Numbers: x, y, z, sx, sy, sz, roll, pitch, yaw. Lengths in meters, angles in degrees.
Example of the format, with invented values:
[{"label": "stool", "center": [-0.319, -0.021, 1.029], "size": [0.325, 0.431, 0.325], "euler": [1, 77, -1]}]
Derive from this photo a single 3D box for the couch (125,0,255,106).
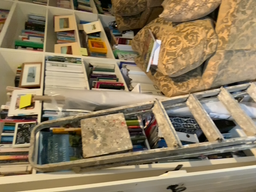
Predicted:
[{"label": "couch", "center": [0.570, -0.600, 1.600], "size": [0.820, 0.810, 1.080], "euler": [-122, 38, -55]}]
